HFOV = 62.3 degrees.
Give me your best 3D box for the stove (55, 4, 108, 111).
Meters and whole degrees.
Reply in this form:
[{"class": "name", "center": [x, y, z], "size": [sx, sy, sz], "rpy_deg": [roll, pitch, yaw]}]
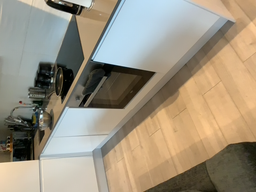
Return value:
[{"class": "stove", "center": [-0.440, -0.300, 1.810], "size": [0.670, 0.150, 0.590], "rpy_deg": [-48, 48, 43]}]
